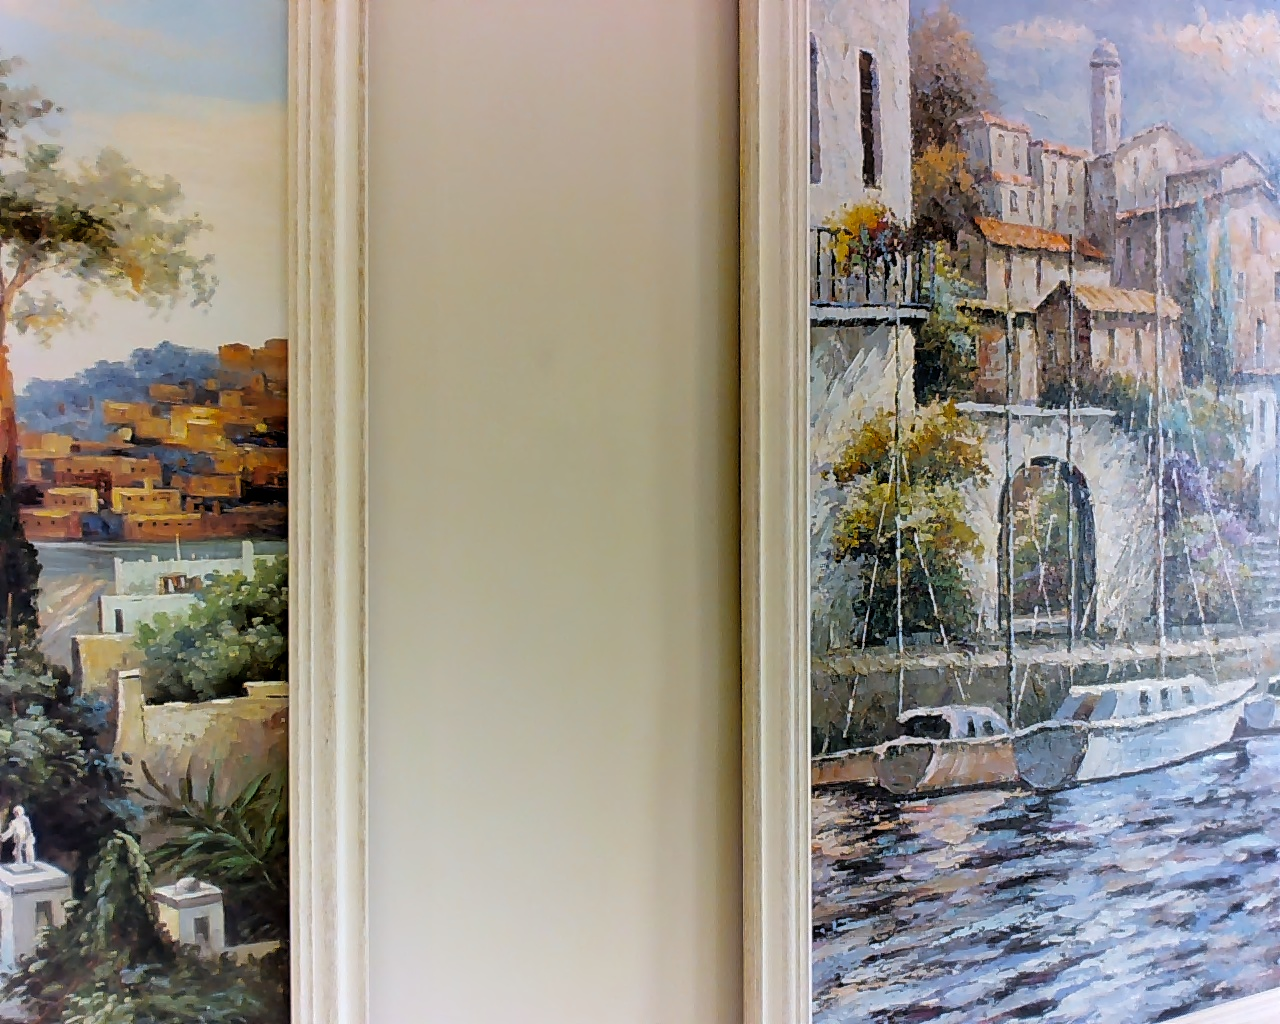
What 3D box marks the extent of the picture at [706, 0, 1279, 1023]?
[{"bbox_3d":[0.610,0.030,1.240,1.150,1.410,0.060,-1,3,-23],"label":"picture"}]
